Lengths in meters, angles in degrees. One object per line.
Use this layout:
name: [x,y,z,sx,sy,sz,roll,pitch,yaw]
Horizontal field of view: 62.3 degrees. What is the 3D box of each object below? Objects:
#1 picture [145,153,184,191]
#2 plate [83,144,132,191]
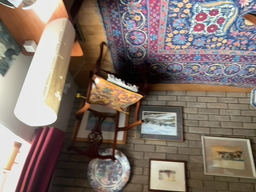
picture: [0.350,0.730,2.040,0.350,0.330,0.020,2,150,6]
plate: [-0.190,0.710,2.090,0.420,0.440,0.050,1,150,9]
